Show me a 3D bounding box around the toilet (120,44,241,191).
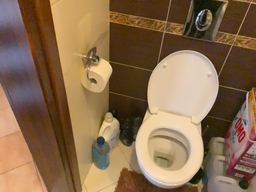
[{"bbox_3d":[0.230,0.230,1.200,0.380,0.810,0.530,14,44,8],"label":"toilet"}]
